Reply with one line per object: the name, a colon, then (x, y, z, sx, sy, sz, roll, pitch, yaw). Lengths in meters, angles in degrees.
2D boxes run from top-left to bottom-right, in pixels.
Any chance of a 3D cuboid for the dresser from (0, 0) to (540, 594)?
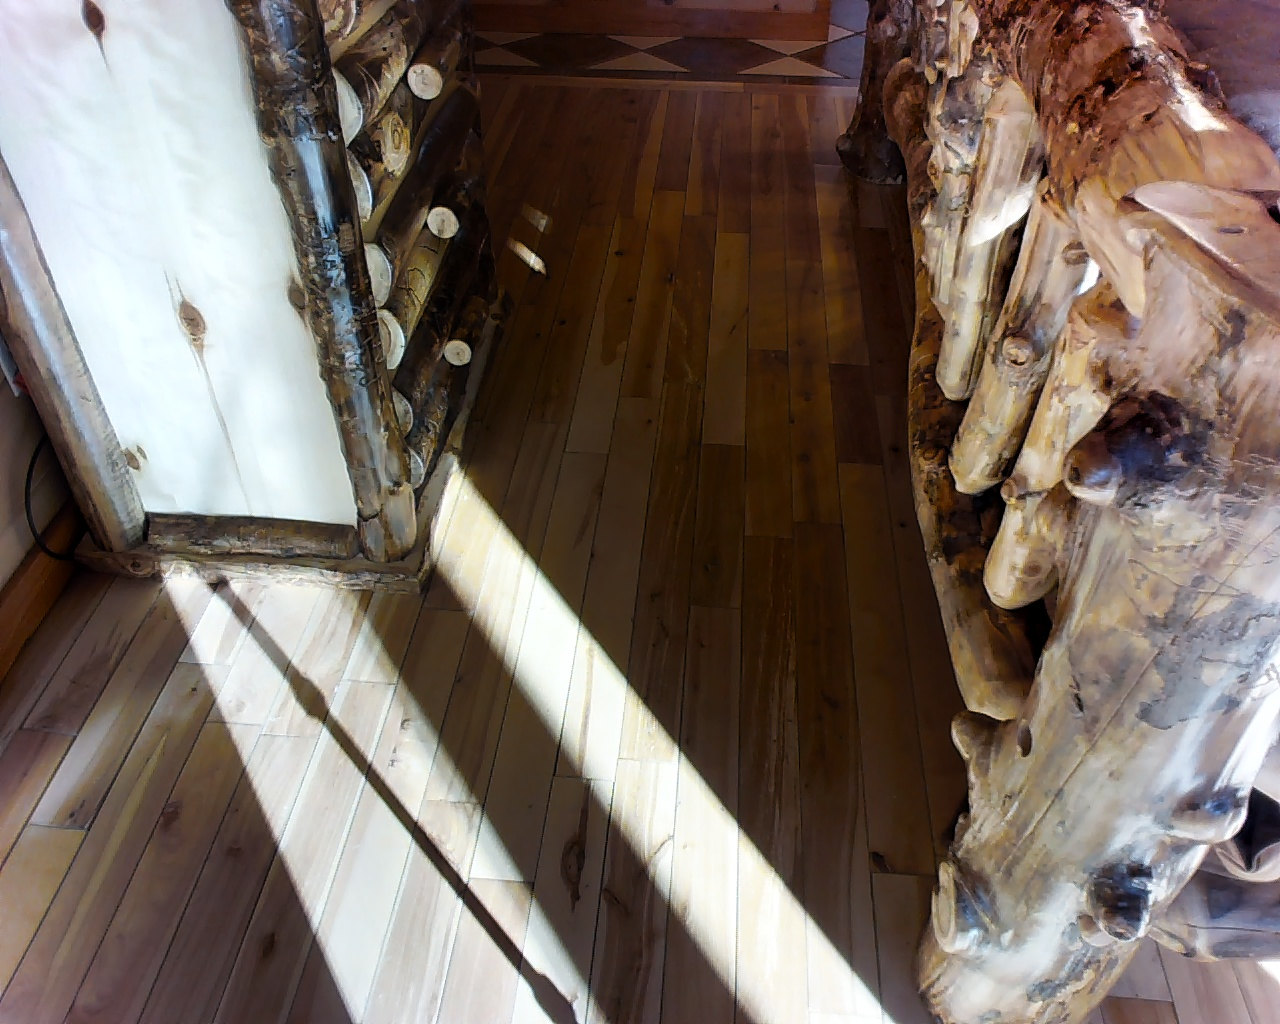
dresser: (-0.560, -0.700, 1.540, 0.620, 1.370, 0.890, 4, 42, 4)
